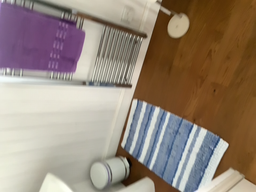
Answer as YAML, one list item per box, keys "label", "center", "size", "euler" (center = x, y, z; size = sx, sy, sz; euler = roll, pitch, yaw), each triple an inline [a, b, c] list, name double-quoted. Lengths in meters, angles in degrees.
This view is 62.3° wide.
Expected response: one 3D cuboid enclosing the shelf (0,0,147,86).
- label: "shelf"
  center: [-0.280, -0.290, 1.330]
  size: [0.080, 1.020, 0.410]
  euler: [26, 107, 40]
